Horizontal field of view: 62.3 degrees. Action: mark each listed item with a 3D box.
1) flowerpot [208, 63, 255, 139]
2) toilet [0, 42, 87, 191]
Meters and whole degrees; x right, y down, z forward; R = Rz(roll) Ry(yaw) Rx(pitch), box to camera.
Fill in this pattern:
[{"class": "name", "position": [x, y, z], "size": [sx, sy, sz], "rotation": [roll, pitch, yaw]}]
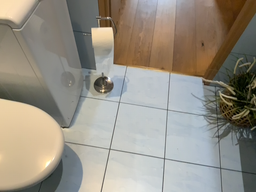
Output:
[{"class": "flowerpot", "position": [0.720, 0.040, 1.340], "size": [0.280, 0.320, 0.340], "rotation": [7, 59, 1]}, {"class": "toilet", "position": [-0.580, 0.170, 0.900], "size": [0.630, 0.780, 0.380], "rotation": [10, 59, 3]}]
